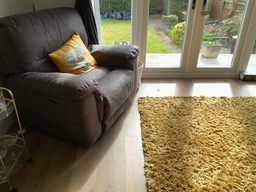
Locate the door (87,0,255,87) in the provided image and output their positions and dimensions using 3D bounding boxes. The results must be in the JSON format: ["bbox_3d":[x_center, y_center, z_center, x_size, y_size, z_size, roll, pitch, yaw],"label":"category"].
[{"bbox_3d":[0.850,-1.230,2.510,2.640,2.360,0.250,0,29,-1],"label":"door"}]
